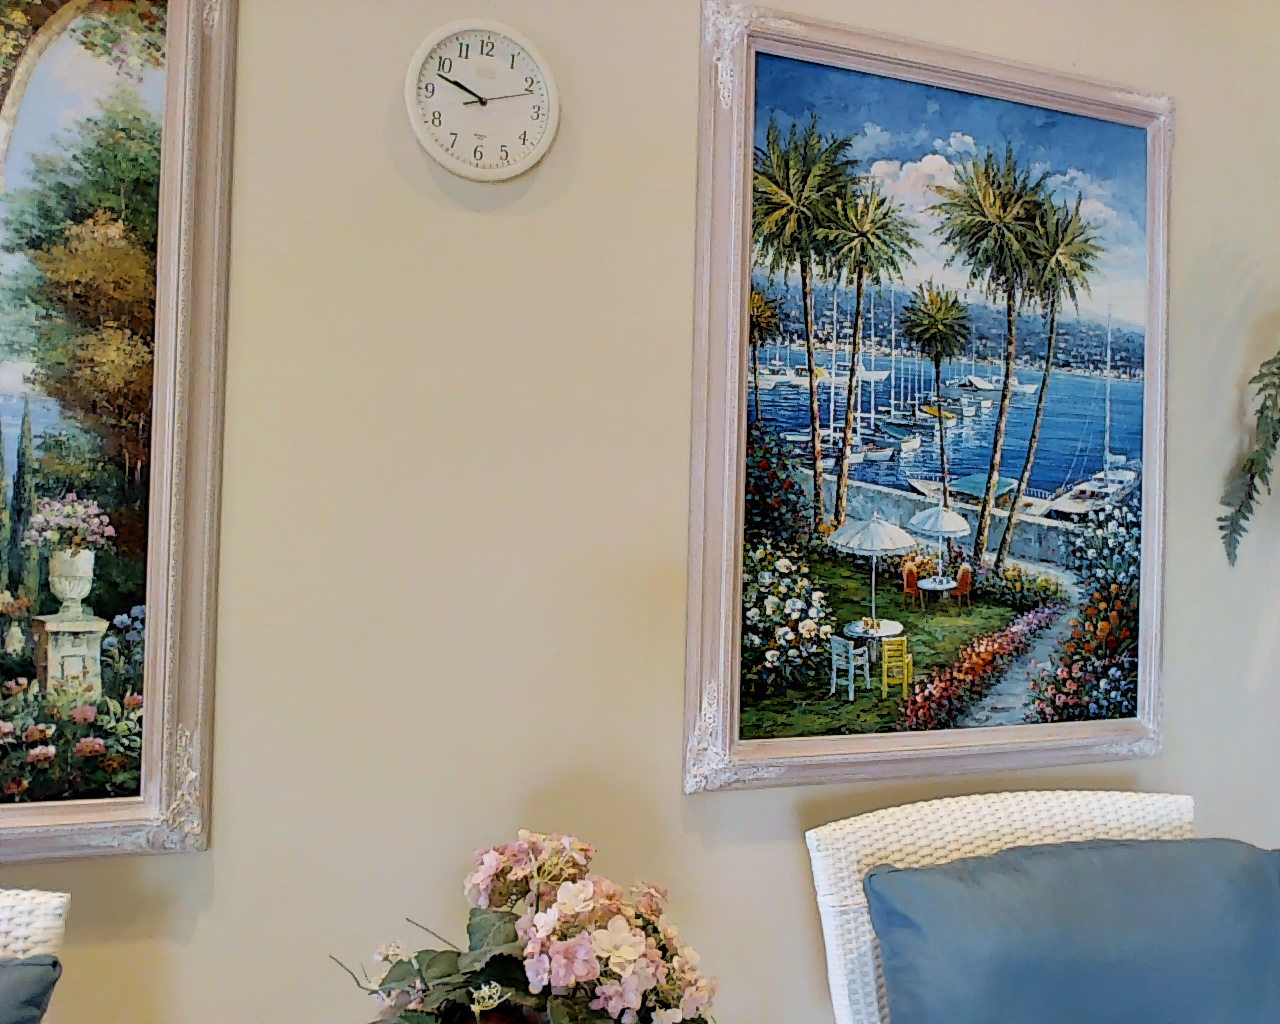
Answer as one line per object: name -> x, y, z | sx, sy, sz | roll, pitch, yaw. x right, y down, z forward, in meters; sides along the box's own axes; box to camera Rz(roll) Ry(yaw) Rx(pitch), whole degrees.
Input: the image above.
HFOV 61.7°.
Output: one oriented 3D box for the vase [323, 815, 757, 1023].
vase -> -0.140, 0.630, 1.190 | 0.390, 0.450, 0.400 | 2, 0, -19
